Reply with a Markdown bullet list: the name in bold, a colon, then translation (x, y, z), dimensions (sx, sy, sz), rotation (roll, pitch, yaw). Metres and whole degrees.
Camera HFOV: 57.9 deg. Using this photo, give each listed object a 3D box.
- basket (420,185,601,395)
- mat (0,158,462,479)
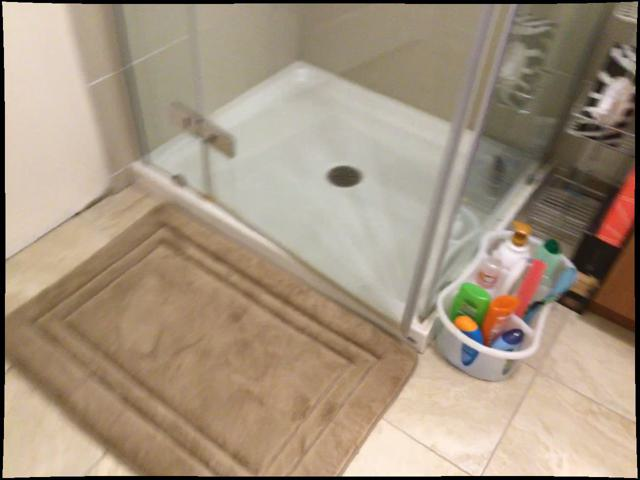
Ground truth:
- **basket**: translation (0.470, 0.110, 1.430), dimensions (0.240, 0.230, 0.410), rotation (28, 54, 22)
- **mat**: translation (-0.250, 0.210, 1.420), dimensions (0.940, 0.090, 0.740), rotation (28, 54, 22)
